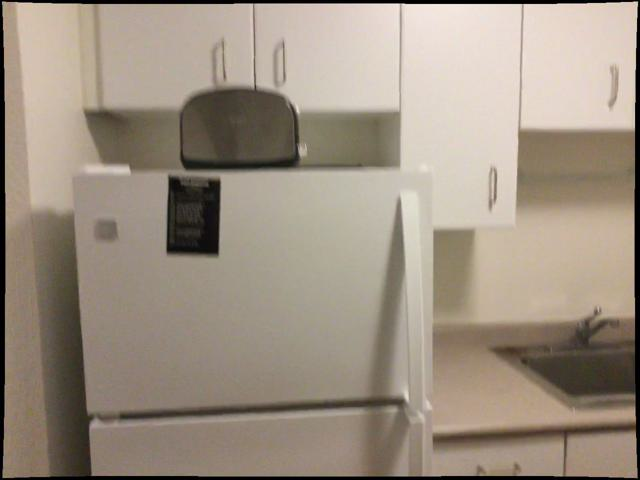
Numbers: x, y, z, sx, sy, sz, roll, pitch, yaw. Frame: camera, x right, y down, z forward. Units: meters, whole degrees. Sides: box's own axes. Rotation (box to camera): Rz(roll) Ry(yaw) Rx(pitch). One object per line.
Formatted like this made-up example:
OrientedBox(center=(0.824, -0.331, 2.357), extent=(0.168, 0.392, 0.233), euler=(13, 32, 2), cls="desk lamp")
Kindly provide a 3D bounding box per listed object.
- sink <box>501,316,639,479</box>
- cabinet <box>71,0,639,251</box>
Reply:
OrientedBox(center=(0.919, 0.460, 1.740), extent=(0.529, 0.310, 0.550), euler=(-2, 7, -7), cls="sink")
OrientedBox(center=(0.499, -0.571, 1.730), extent=(2.268, 1.081, 0.380), euler=(-2, 7, -7), cls="cabinet")
